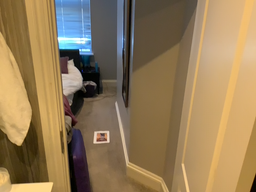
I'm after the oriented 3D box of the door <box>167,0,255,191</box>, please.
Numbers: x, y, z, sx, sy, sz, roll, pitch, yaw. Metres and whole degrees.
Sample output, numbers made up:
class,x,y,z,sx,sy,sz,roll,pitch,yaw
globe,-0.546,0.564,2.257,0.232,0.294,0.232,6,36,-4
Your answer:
class,x,y,z,sx,sy,sz,roll,pitch,yaw
door,0.290,0.320,0.980,0.080,2.140,0.840,5,22,8
